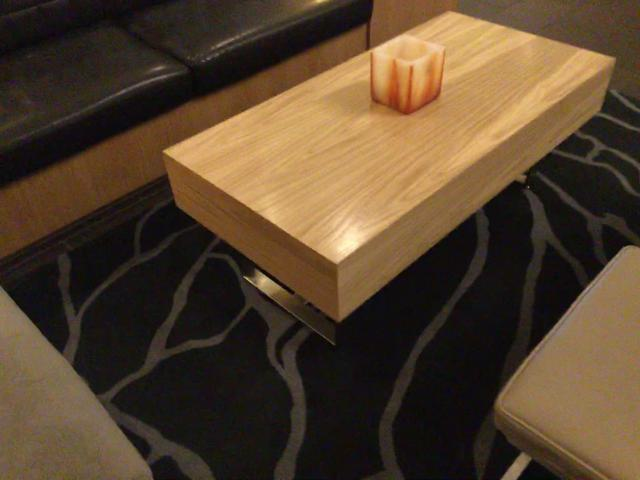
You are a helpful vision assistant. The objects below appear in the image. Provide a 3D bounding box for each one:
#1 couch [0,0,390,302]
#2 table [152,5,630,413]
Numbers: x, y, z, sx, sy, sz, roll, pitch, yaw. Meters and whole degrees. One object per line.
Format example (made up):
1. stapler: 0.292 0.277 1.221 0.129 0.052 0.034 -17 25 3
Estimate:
1. couch: -0.610 -0.740 2.020 0.630 0.970 1.880 28 50 37
2. table: 0.270 -0.220 1.730 0.660 0.510 1.240 28 50 37
